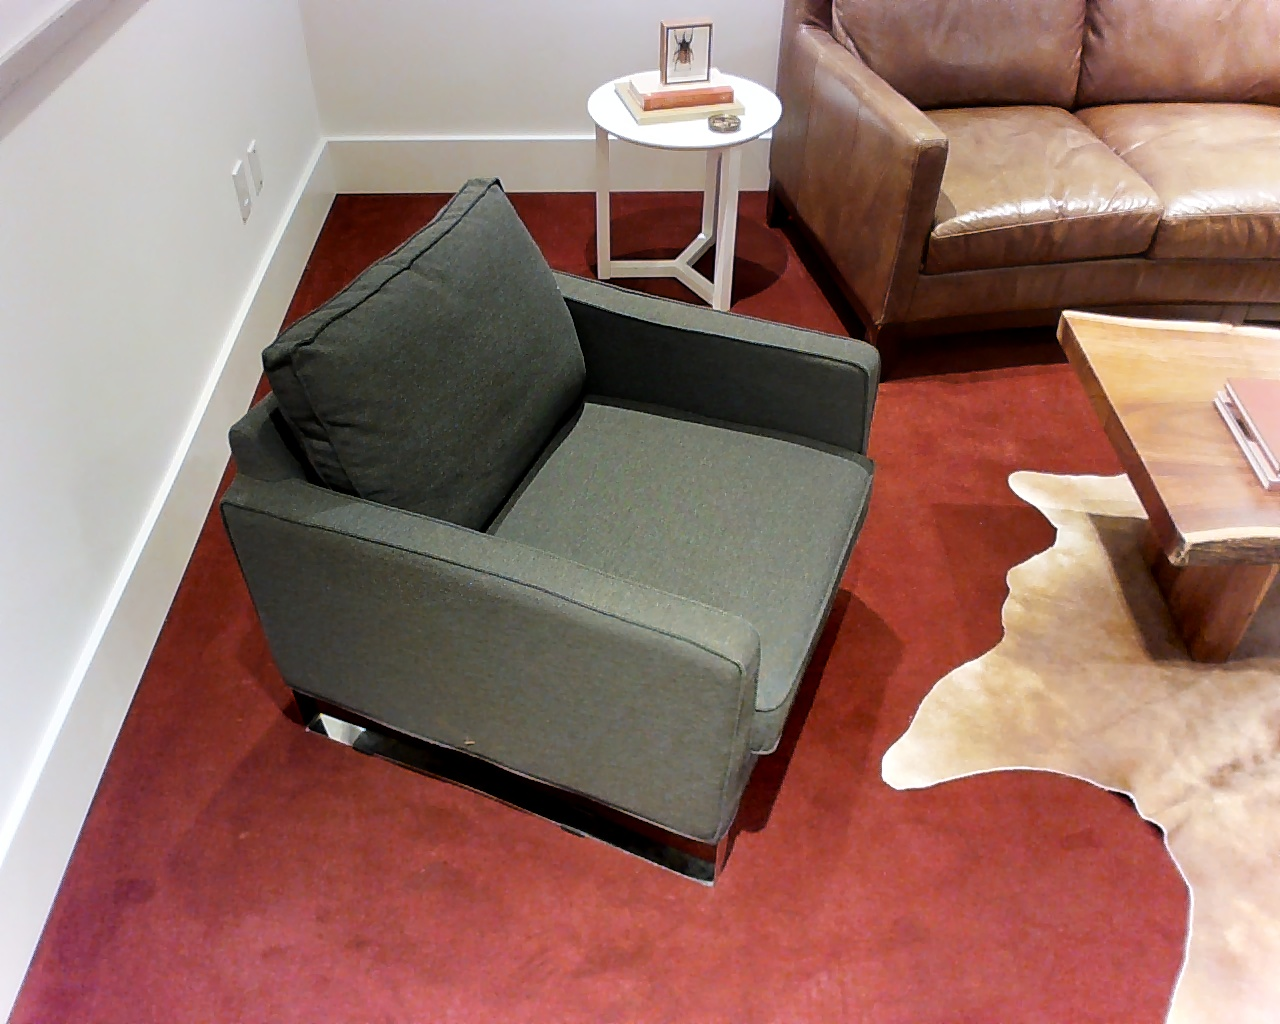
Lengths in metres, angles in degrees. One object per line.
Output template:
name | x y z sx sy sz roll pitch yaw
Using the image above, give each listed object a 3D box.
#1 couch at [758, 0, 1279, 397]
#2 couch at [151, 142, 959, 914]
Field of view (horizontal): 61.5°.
couch | 1.530 -1.010 2.870 2.260 0.880 1.150 0 42 0
couch | -0.070 -0.030 1.810 0.900 0.750 0.810 16 44 17
